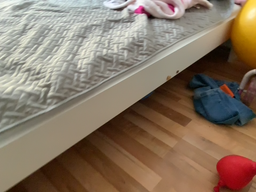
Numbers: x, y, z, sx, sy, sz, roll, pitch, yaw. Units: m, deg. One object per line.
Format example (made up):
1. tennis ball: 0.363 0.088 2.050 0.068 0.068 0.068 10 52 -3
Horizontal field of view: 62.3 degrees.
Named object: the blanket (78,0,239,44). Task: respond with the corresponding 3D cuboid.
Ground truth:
1. blanket: 0.120 -0.520 1.090 0.730 0.200 0.410 31 45 35
